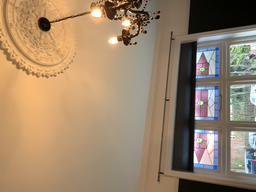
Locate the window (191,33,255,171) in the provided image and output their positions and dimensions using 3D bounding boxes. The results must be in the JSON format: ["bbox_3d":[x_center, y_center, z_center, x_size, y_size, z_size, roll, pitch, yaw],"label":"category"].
[{"bbox_3d":[1.800,0.000,3.090,0.080,1.600,2.080,39,-125,-56],"label":"window"}]
